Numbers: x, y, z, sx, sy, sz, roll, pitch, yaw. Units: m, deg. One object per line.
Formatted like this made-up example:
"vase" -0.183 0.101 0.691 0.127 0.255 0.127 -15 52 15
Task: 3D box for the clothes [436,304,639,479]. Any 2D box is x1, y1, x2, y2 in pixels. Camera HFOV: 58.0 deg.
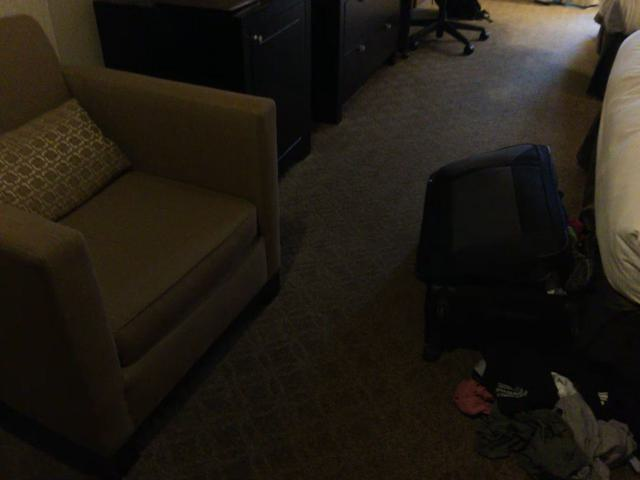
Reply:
"clothes" 0.590 0.410 1.470 0.480 0.160 0.390 15 38 19

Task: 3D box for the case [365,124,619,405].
"case" 0.550 0.020 1.810 0.580 0.420 0.710 15 38 19

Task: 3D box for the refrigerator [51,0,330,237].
"refrigerator" -0.440 -0.650 2.390 0.660 0.810 0.860 15 38 19
